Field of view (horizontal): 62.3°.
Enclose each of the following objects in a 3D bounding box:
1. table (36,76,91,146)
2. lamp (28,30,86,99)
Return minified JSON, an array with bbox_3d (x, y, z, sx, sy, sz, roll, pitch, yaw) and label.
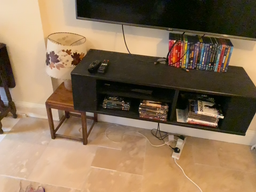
[{"bbox_3d":[-0.510,0.120,1.790,0.290,0.420,0.370,8,35,4],"label":"table"},{"bbox_3d":[-0.500,-0.240,1.580,0.270,0.390,0.300,8,35,4],"label":"lamp"}]
